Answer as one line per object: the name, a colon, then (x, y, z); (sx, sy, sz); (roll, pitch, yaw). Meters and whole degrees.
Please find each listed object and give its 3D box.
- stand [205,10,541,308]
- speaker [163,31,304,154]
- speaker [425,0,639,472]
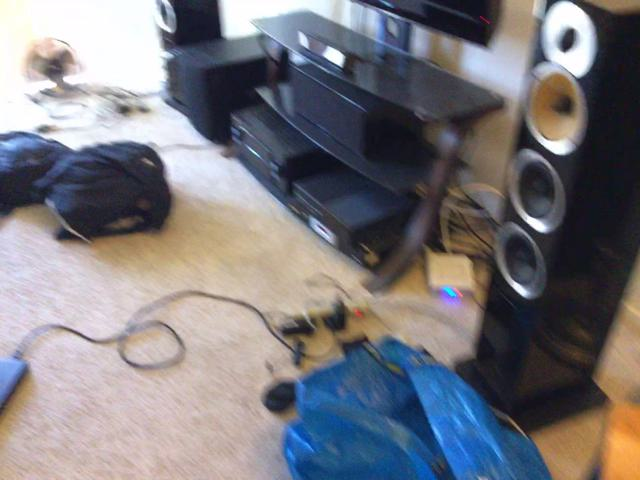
stand: (0.070, -0.400, 2.130); (0.480, 0.640, 1.230); (-16, 35, -31)
speaker: (-0.400, -0.690, 2.630); (0.450, 0.400, 0.460); (-16, 35, -31)
speaker: (0.530, -0.010, 1.220); (0.390, 0.960, 0.260); (-16, 35, -31)
